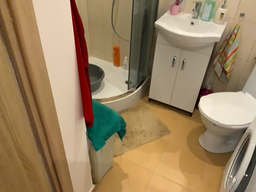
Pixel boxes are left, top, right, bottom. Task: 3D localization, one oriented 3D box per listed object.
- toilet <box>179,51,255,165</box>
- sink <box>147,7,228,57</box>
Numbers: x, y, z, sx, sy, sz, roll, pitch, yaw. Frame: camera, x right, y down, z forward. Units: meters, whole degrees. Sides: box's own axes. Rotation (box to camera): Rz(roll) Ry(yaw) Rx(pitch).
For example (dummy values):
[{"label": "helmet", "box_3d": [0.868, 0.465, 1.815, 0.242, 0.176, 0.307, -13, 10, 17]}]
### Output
[{"label": "toilet", "box_3d": [0.840, 0.080, 1.610, 0.670, 0.720, 0.360, -9, 41, -16]}, {"label": "sink", "box_3d": [0.470, -0.530, 1.680, 0.510, 0.160, 0.380, 21, 42, 20]}]
